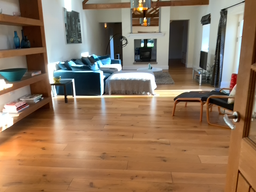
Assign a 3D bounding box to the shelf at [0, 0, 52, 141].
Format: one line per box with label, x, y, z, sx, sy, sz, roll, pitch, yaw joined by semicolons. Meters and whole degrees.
shelf;-1.950;-0.610;3.330;0.400;2.200;1.930;0;16;6
